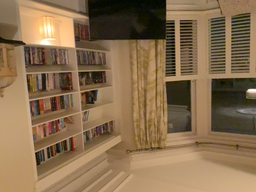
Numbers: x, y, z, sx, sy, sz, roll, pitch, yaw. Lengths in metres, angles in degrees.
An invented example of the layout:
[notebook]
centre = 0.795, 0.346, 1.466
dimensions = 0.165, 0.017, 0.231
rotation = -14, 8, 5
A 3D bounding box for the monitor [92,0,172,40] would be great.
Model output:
[monitor]
centre = 0.080, -1.080, 2.820
dimensions = 1.080, 0.640, 0.050
rotation = -4, -172, -15
